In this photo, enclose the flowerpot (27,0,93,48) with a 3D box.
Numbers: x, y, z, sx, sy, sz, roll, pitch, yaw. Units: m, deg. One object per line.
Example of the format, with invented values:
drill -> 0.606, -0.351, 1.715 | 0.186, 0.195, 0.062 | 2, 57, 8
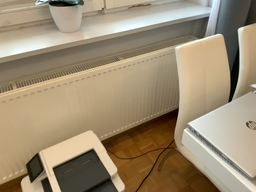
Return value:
flowerpot -> -0.370, -0.590, 1.020 | 0.250, 0.600, 0.280 | -19, 41, -23
